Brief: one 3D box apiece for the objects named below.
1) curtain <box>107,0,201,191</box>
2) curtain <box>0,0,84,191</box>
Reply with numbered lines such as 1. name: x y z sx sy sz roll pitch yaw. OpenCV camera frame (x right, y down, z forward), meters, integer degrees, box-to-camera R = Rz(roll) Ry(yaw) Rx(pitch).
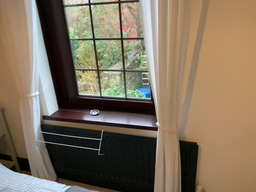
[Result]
1. curtain: 0.160 -0.220 1.330 0.510 2.450 0.120 5 25 19
2. curtain: -0.790 -0.240 1.630 0.550 2.450 0.150 4 25 18
